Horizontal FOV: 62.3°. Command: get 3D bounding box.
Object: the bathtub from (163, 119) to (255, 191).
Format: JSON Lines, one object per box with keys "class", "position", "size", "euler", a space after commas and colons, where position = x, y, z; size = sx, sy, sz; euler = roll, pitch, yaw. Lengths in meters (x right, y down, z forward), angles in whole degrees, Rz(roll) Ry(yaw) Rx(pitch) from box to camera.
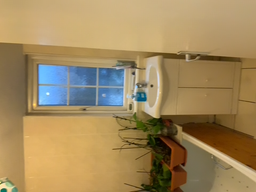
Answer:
{"class": "bathtub", "position": [0.880, 0.710, 1.580], "size": [1.710, 0.560, 0.710], "euler": [-154, 65, -74]}
